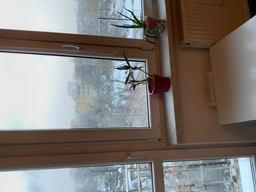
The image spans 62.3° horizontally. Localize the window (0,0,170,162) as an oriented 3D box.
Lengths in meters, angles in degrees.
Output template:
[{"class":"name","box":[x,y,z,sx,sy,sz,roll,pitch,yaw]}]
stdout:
[{"class":"window","box":[-0.510,-0.800,1.570,0.140,1.560,2.430,144,126,-72]}]
